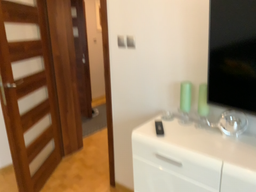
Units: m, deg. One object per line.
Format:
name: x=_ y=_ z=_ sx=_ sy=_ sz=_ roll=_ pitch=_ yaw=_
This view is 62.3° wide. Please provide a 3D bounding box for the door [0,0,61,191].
door: x=-0.920 y=-0.080 z=2.030 sx=0.090 sy=1.950 sz=0.820 roll=-1 pitch=17 yaw=1
